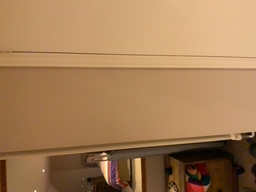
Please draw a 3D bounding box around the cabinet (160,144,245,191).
[{"bbox_3d":[0.700,0.830,2.040,0.400,0.650,0.610,171,97,-75],"label":"cabinet"}]
